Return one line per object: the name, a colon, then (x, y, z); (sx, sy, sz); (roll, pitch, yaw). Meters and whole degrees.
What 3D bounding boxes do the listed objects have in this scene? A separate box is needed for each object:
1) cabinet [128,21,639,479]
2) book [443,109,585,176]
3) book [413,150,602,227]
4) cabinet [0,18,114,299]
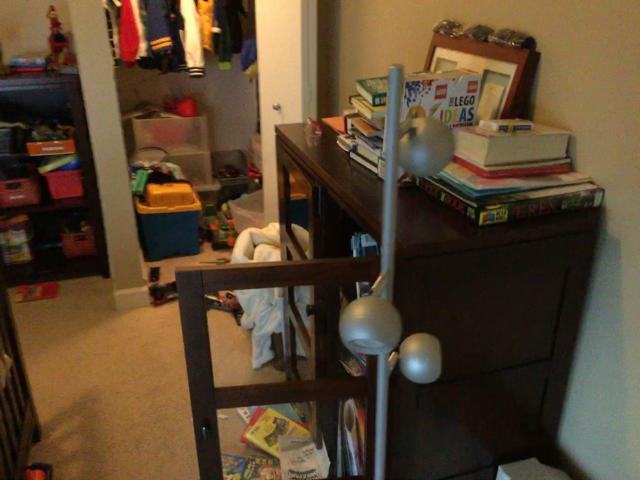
cabinet: (0.020, 0.130, 1.620); (0.860, 1.310, 1.110); (-7, 26, -19)
book: (0.420, -0.220, 1.270); (0.230, 0.090, 0.170); (-7, 26, -19)
book: (0.390, -0.120, 1.240); (0.280, 0.060, 0.260); (-7, 26, -19)
cabinet: (-1.580, -0.370, 2.700); (1.000, 1.220, 0.470); (-8, 27, -21)
